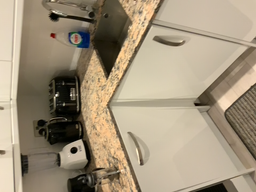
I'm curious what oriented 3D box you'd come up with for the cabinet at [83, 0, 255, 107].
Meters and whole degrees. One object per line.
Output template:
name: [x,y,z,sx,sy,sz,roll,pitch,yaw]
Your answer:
cabinet: [0.380,-0.520,1.260,1.090,0.910,0.600,-59,43,40]
